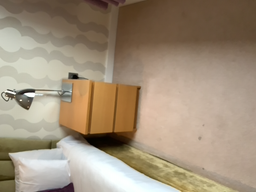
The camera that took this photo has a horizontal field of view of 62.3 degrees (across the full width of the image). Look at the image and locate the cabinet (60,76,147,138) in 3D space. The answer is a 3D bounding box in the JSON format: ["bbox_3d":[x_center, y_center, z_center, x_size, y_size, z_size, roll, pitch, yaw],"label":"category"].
[{"bbox_3d":[-0.230,0.080,1.930,0.510,0.550,0.430,11,95,49],"label":"cabinet"}]
